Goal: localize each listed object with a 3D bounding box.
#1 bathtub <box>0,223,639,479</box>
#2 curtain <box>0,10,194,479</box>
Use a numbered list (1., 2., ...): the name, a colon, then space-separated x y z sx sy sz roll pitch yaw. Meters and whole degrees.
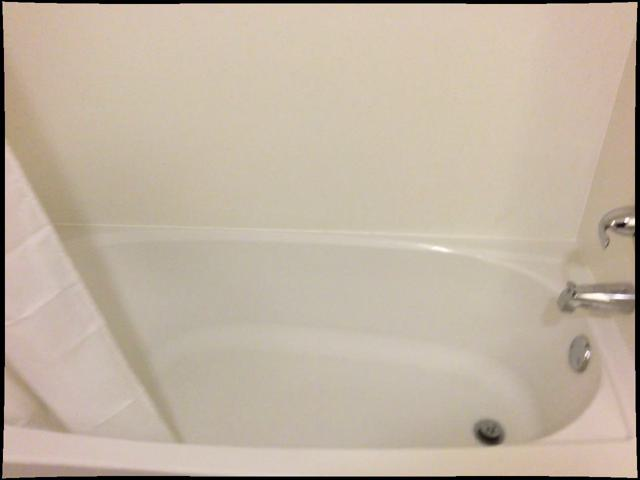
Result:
1. bathtub: -0.120 0.391 1.390 1.506 0.471 0.761 2 35 4
2. curtain: -0.549 0.150 1.010 0.479 1.012 0.200 2 34 4
